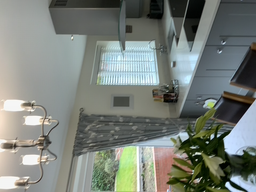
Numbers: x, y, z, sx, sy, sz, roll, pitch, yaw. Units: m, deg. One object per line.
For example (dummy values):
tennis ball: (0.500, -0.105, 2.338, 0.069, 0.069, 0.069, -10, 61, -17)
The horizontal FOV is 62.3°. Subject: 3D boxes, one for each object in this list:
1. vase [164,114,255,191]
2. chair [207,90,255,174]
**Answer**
vase: (0.550, 0.410, 1.130, 0.400, 0.600, 0.480, -90, 1, -46)
chair: (1.140, 0.270, 1.580, 0.380, 0.880, 0.490, 91, 179, -52)
